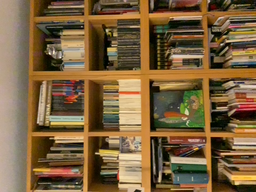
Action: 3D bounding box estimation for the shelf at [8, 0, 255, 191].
[{"bbox_3d":[0.460,1.280,1.500,0.430,2.490,4.330,55,-145,-85],"label":"shelf"}]
